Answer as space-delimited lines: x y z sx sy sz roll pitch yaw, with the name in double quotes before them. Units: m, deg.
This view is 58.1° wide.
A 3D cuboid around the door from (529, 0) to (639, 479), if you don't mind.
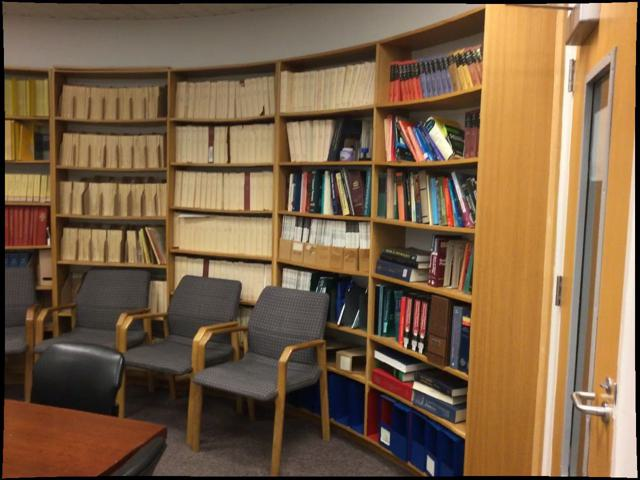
"door" 0.928 0.231 1.970 0.200 2.196 1.120 1 7 12
